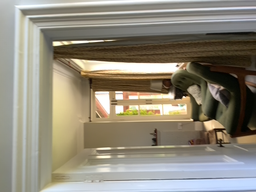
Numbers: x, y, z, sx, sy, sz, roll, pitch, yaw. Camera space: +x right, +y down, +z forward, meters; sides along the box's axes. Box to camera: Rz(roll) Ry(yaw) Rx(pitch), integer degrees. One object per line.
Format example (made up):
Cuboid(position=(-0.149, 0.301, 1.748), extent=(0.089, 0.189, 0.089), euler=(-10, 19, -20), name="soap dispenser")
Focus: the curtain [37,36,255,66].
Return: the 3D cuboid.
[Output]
Cuboid(position=(0.260, -0.540, 2.570), extent=(0.340, 2.580, 0.250), euler=(-84, -7, -81), name="curtain")
